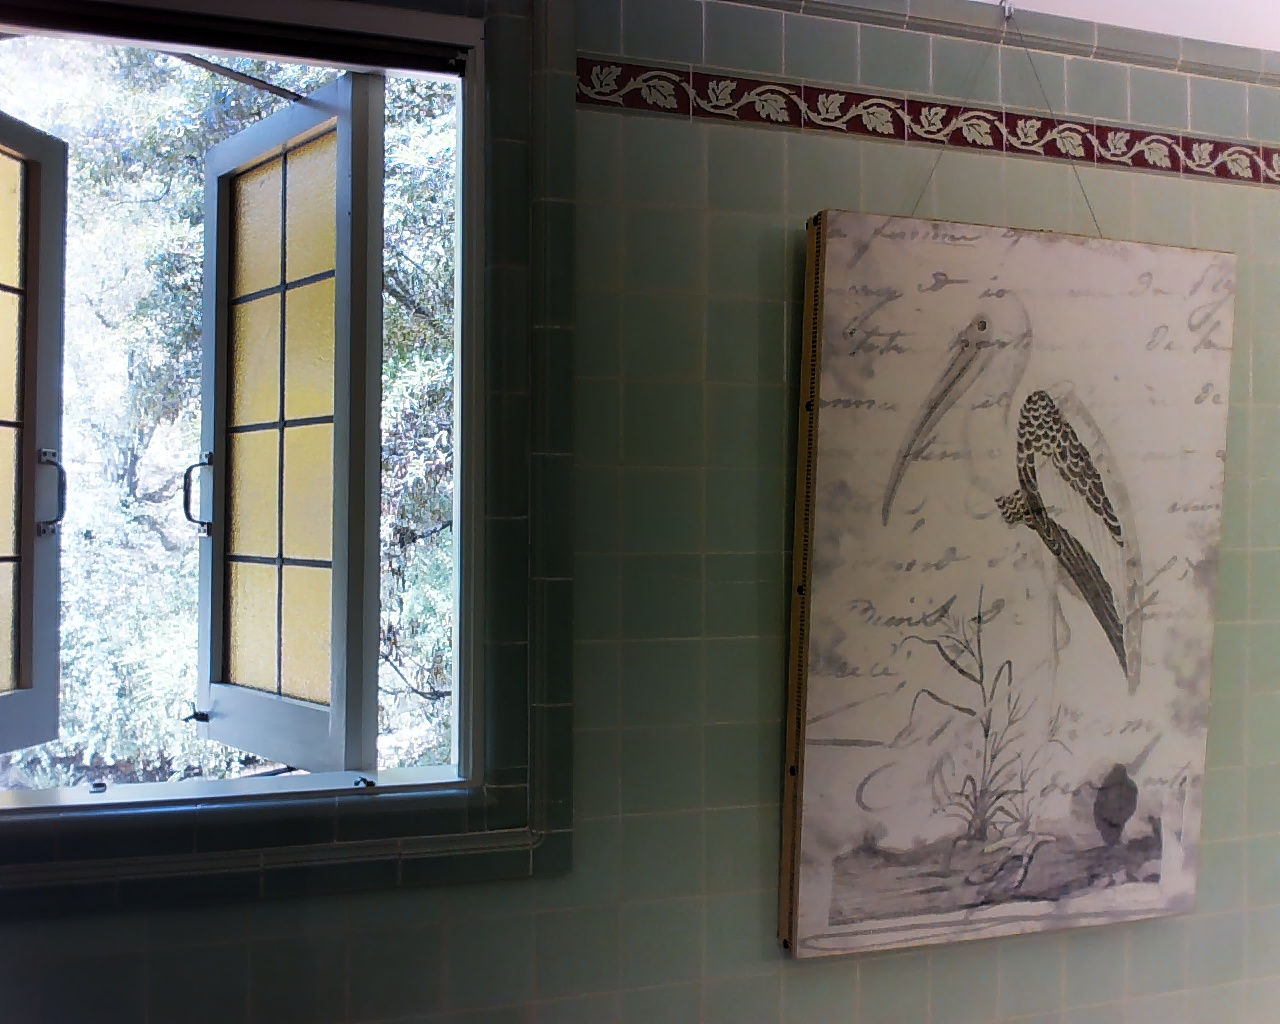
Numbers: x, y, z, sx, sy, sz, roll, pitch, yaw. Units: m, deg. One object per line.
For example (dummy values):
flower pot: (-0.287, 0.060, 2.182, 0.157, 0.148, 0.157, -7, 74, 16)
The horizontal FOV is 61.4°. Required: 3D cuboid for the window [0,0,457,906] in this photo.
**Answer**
window: (-0.690, -0.070, 1.400, 0.850, 1.040, 0.310, 1, 0, -16)
